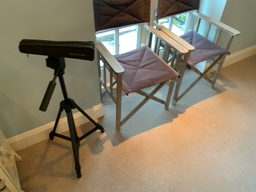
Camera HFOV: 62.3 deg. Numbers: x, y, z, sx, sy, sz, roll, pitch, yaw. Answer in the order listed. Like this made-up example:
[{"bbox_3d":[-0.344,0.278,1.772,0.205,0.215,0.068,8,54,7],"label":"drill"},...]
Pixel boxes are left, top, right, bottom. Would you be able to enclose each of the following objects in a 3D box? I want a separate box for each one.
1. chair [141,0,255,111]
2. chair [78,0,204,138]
[{"bbox_3d":[0.540,-0.450,1.900,0.550,0.890,0.560,-22,49,-24],"label":"chair"},{"bbox_3d":[0.050,-0.260,1.670,0.600,0.890,0.560,-22,49,-24],"label":"chair"}]
